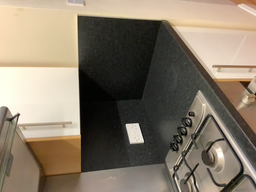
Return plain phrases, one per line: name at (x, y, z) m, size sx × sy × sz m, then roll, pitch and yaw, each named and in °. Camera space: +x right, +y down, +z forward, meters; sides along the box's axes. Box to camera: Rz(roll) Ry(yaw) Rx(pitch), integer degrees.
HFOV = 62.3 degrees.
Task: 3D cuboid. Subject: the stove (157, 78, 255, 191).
stove at (0.280, 0.350, 0.790) m, size 0.590 × 0.030 × 0.590 m, roll -107°, pitch 21°, yaw -45°
